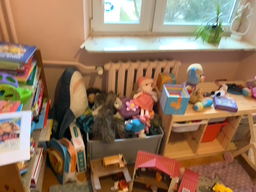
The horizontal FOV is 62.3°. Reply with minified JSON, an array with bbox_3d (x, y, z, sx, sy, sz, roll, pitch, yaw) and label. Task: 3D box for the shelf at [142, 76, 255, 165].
[{"bbox_3d":[0.680,0.190,1.990,0.930,0.530,0.520,-4,35,-14],"label":"shelf"}]
